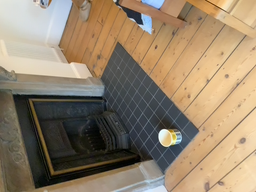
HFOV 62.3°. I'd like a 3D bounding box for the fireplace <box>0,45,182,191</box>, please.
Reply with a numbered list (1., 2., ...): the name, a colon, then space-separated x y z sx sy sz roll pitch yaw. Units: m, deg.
1. fireplace: -0.550 0.280 1.870 1.700 1.180 0.500 53 126 35
